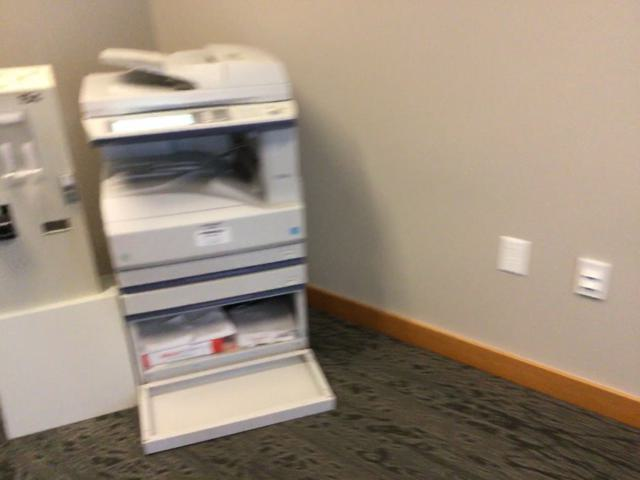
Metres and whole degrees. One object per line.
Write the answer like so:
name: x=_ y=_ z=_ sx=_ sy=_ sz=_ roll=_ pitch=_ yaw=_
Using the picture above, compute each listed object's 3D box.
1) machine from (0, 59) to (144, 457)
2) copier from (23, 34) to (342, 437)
machine: x=-0.860 y=0.040 z=1.770 sx=0.450 sy=1.060 sz=0.500 roll=-8 pitch=25 yaw=-13
copier: x=-0.380 y=-0.080 z=1.950 sx=0.730 sy=1.070 sz=0.770 roll=-7 pitch=24 yaw=-9
